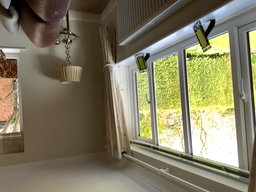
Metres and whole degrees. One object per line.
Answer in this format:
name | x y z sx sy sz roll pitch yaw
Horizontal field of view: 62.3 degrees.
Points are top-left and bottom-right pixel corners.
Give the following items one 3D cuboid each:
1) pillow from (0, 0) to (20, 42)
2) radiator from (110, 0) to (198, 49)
pillow | -1.050 -0.710 1.780 0.230 0.440 0.440 -2 -172 -28
radiator | 0.140 -1.000 1.930 0.150 0.790 1.390 -2 178 -24
